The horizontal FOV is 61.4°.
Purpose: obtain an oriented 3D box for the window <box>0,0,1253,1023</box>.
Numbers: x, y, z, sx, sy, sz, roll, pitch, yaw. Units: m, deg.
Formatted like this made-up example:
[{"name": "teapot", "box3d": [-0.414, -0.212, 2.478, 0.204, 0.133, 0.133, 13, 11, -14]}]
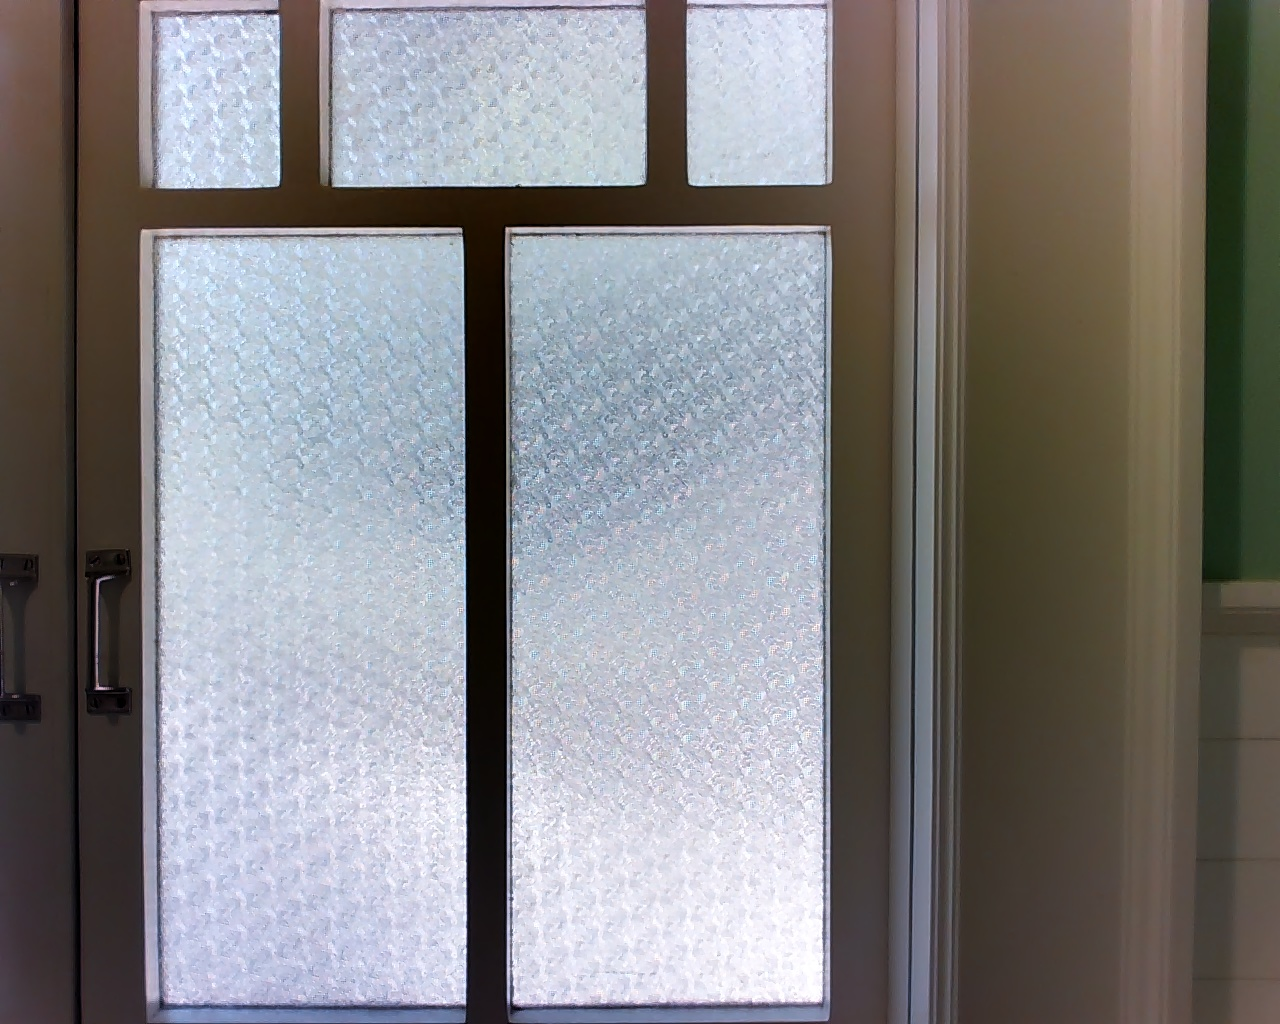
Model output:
[{"name": "window", "box3d": [-0.400, -0.140, 0.720, 1.510, 1.290, 0.210, 0, 1, -1]}]
